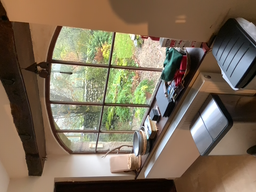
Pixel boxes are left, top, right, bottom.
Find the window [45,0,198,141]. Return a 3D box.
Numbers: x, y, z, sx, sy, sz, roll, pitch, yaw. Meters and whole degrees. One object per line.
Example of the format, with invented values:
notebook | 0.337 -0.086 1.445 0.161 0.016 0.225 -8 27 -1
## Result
window | -0.230 -0.150 2.520 0.100 1.290 2.330 -100 18 -44
